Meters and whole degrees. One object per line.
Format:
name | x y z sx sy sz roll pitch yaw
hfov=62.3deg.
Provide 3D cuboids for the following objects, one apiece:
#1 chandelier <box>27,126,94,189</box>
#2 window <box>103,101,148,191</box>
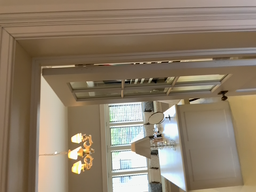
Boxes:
chandelier | -1.020 0.930 3.370 0.590 0.870 0.770 162 -75 -85
window | -0.100 1.480 6.080 0.060 1.130 2.640 107 -21 -76
